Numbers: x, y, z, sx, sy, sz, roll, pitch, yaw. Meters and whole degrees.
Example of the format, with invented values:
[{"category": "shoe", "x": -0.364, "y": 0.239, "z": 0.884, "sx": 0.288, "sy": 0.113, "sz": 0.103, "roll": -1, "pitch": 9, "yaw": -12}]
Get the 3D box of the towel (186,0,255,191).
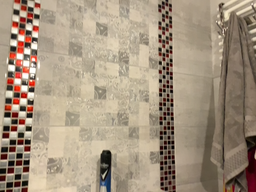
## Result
[{"category": "towel", "x": 0.490, "y": -0.020, "z": 1.080, "sx": 0.260, "sy": 0.940, "sz": 0.240, "roll": 5, "pitch": -9, "yaw": -30}]
